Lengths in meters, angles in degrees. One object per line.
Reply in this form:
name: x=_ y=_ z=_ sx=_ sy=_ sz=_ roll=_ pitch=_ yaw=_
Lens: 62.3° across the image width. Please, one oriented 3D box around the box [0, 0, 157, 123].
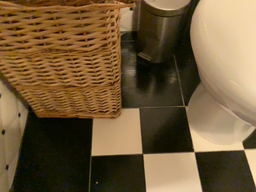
box: x=-0.140 y=-0.230 z=0.620 sx=0.330 sy=0.490 sz=0.440 roll=-3 pitch=60 yaw=-3
